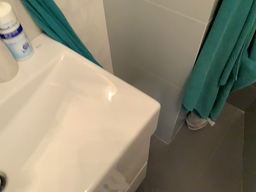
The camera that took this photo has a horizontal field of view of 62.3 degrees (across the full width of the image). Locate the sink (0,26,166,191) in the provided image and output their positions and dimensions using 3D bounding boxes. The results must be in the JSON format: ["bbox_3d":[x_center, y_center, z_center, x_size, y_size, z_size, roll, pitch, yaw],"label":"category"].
[{"bbox_3d":[-0.310,0.200,0.480,0.440,0.180,0.760,31,62,20],"label":"sink"}]

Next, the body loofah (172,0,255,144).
[{"bbox_3d":[0.380,-0.190,0.730,0.200,1.160,0.220,31,62,20],"label":"body loofah"}]
